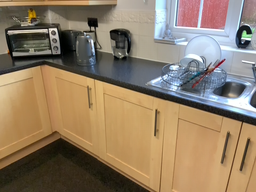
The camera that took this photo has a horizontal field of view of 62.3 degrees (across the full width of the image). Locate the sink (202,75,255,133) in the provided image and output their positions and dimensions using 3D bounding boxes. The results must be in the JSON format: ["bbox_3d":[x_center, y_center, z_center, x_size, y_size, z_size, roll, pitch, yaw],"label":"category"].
[{"bbox_3d":[0.640,0.030,1.330,0.170,0.190,0.420,18,30,35],"label":"sink"}]
